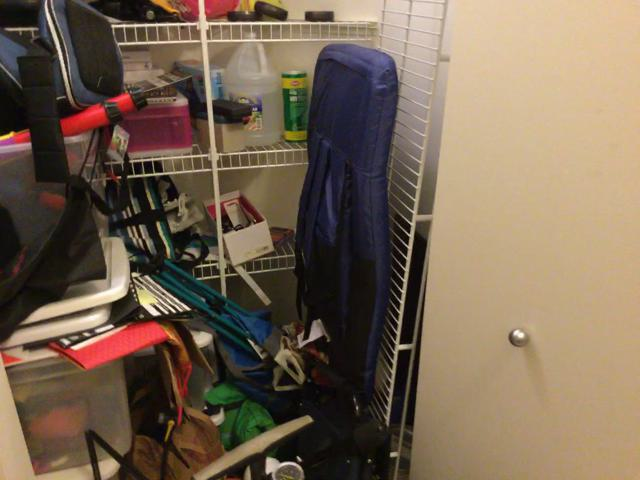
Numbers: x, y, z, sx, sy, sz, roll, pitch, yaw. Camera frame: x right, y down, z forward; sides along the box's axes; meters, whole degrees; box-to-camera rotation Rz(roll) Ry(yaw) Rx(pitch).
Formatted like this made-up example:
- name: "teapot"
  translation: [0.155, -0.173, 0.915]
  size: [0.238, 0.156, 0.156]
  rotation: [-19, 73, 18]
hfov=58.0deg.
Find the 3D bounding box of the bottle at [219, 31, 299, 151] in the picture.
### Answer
- name: "bottle"
  translation: [-0.170, -0.420, 1.610]
  size: [0.180, 0.290, 0.170]
  rotation: [-7, 26, -14]
